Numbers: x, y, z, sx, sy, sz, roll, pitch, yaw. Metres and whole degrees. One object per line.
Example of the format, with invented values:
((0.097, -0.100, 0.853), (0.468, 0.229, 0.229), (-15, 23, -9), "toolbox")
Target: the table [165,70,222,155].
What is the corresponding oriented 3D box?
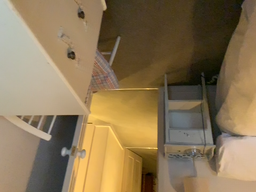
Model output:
((0.540, 0.130, 1.890), (0.410, 0.700, 0.260), (1, 151, 8), "table")
